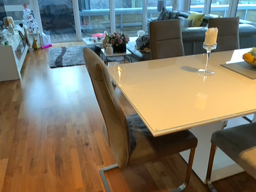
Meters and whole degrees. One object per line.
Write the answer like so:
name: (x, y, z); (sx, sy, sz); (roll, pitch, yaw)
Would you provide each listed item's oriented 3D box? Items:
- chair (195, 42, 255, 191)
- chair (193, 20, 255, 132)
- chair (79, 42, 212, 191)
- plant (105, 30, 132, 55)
chair: (0.840, 0.270, 1.210); (0.470, 1.020, 0.630); (-10, 28, -18)
chair: (1.090, -0.230, 2.230); (0.430, 1.000, 0.550); (-8, 27, -14)
chair: (0.070, 0.200, 1.420); (0.630, 0.980, 0.450); (-9, 28, -16)
plant: (-0.150, -0.840, 3.280); (0.320, 0.300, 0.310); (-10, 28, -18)
